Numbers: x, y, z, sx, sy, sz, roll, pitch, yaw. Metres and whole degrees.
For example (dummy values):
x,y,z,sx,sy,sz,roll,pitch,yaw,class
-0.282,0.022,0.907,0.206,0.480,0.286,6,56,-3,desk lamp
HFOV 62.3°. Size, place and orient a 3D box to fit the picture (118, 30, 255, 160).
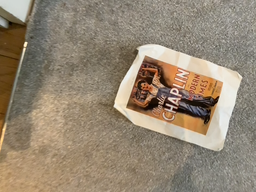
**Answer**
x,y,z,sx,sy,sz,roll,pitch,yaw,class
0.150,0.000,0.540,0.290,0.040,0.240,18,90,-3,picture
